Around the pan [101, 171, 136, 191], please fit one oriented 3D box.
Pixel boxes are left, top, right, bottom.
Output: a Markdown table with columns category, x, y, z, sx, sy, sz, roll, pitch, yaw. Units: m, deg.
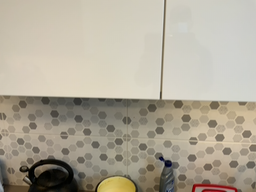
| category | x | y | z | sx | sy | sz | roll | pitch | yaw |
| --- | --- | --- | --- | --- | --- | --- | --- | --- | --- |
| pan | -0.040 | 0.440 | 0.950 | 0.140 | 0.090 | 0.200 | 2 | 16 | 4 |
